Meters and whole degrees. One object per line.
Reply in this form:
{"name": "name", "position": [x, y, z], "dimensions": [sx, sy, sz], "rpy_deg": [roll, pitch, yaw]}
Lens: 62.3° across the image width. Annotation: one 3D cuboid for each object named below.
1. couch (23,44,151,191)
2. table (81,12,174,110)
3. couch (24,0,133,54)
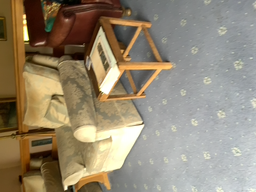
{"name": "couch", "position": [-0.520, 0.190, 2.120], "dimensions": [1.000, 0.850, 0.950], "rpy_deg": [61, 142, 36]}
{"name": "table", "position": [-0.050, -0.250, 1.670], "dimensions": [0.560, 0.430, 0.460], "rpy_deg": [-55, 48, 48]}
{"name": "couch", "position": [-0.540, -0.930, 2.060], "dimensions": [0.720, 0.780, 0.750], "rpy_deg": [-37, 62, 56]}
